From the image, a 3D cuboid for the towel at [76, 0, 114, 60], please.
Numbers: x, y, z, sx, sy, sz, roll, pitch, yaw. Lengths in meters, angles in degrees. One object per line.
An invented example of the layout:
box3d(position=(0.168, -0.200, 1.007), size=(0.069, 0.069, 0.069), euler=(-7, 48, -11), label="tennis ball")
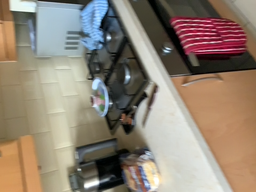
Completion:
box3d(position=(-0.180, -0.340, 1.080), size=(0.320, 0.090, 0.120), euler=(-58, 47, 50), label="towel")
